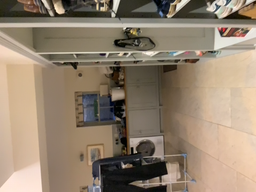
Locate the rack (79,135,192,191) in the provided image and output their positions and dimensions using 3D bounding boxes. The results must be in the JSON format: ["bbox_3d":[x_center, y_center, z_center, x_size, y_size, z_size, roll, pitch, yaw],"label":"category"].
[{"bbox_3d":[0.100,1.380,3.860,0.840,1.840,1.040,-176,83,-80],"label":"rack"}]
